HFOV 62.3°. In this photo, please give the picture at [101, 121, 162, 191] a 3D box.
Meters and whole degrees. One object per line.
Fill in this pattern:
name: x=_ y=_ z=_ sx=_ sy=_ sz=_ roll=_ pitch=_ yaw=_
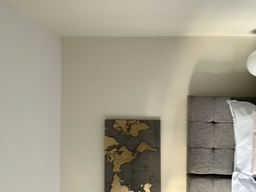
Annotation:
picture: x=0.030 y=0.730 z=2.280 sx=0.030 sy=0.640 sz=0.900 roll=-36 pitch=-53 yaw=-85
